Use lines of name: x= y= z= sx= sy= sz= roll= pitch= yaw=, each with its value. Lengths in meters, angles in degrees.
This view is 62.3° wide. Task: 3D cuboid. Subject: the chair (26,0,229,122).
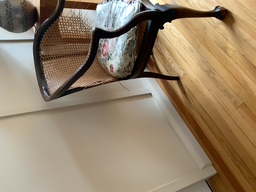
chair: x=-0.070 y=-0.340 z=1.150 sx=0.560 sy=0.800 sz=0.600 roll=55 pitch=141 yaw=39
